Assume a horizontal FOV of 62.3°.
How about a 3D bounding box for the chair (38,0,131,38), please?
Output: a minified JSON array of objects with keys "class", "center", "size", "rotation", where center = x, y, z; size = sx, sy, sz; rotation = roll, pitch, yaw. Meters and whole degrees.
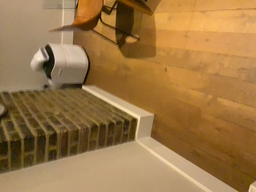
[{"class":"chair","center":[-0.420,-0.860,2.100],"size":[0.460,0.770,0.460],"rotation":[16,106,51]}]
